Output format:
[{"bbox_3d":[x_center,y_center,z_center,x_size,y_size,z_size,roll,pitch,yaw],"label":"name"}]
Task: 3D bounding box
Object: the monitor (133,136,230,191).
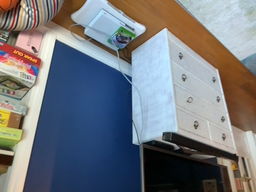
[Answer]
[{"bbox_3d":[0.450,0.720,1.460,1.090,0.680,0.050,22,145,-37],"label":"monitor"}]
